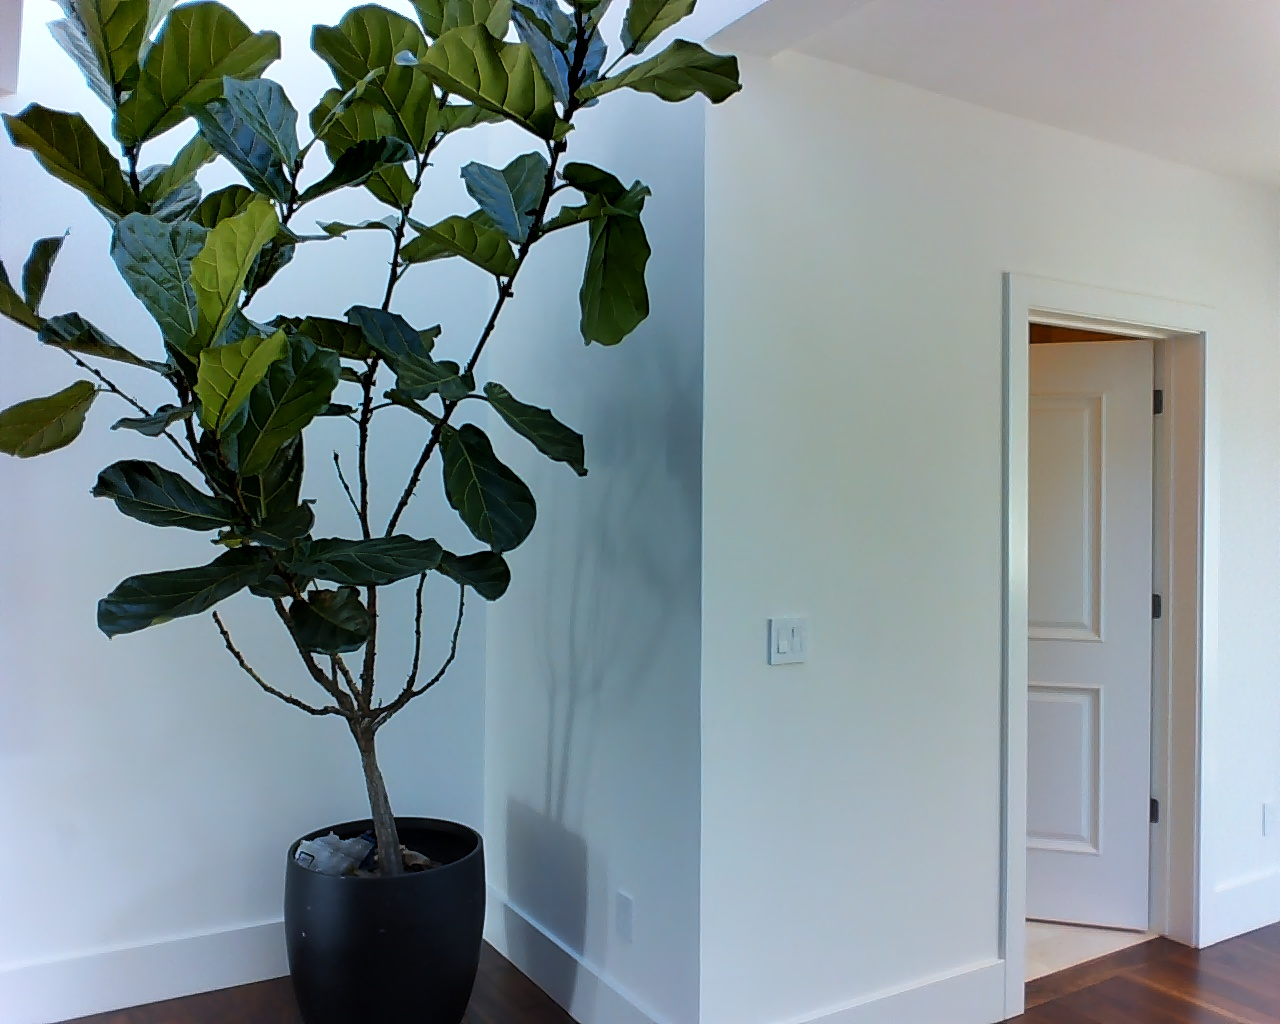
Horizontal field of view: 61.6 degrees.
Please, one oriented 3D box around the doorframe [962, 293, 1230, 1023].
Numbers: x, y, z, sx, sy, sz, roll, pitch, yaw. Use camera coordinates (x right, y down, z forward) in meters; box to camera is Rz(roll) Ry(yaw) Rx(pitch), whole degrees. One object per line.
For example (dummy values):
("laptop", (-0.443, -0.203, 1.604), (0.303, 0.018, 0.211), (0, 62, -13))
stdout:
("doorframe", (1.540, 0.440, 3.590), (0.980, 2.190, 0.280), (0, 0, -31))
